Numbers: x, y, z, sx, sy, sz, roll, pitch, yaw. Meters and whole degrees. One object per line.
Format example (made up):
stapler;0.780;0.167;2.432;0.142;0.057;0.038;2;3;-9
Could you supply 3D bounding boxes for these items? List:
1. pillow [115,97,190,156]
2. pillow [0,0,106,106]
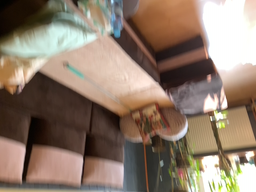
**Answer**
pillow;0.280;0.340;2.550;0.750;0.470;0.220;15;161;34
pillow;-0.510;-0.260;1.290;0.620;0.400;0.420;-14;152;23
